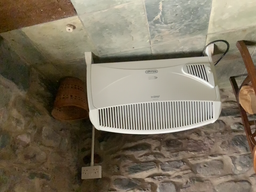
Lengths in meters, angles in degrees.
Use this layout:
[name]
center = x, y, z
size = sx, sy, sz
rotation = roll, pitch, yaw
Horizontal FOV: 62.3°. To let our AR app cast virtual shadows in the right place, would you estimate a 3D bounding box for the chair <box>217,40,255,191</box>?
[chair]
center = 0.970, 0.120, 1.280
size = 0.560, 0.780, 0.550
rotation = -9, 153, 9
